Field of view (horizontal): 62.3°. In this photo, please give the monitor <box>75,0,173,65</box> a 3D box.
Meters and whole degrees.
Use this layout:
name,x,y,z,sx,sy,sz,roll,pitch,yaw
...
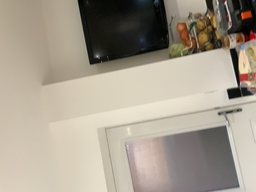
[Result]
name,x,y,z,sx,sy,sz,roll,pitch,yaw
monitor,-0.090,-0.840,1.680,0.060,0.670,1.070,29,-130,-84
